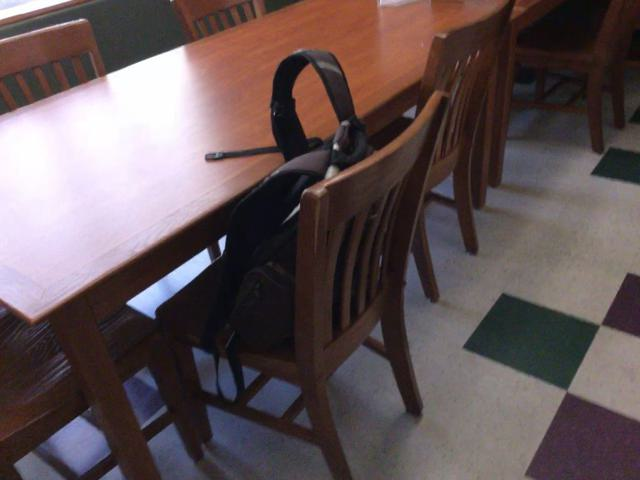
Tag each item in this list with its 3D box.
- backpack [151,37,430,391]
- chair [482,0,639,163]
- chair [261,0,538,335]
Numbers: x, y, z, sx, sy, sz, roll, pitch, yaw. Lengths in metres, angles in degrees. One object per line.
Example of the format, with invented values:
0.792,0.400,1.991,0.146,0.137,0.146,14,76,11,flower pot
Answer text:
-0.010,-0.070,1.120,0.330,0.520,0.380,12,37,25,backpack
1.110,-0.890,2.540,0.570,0.880,0.480,18,41,32,chair
0.260,-0.280,1.830,0.580,0.880,0.510,18,40,32,chair
